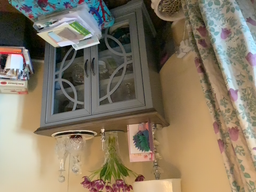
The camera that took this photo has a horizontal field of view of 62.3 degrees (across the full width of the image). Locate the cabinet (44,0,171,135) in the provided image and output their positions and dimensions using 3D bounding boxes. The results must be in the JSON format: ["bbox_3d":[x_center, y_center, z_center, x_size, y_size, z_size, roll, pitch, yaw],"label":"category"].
[{"bbox_3d":[-0.180,-0.230,1.760,0.860,0.940,0.430,-12,160,20],"label":"cabinet"}]
